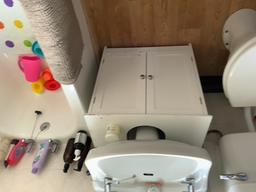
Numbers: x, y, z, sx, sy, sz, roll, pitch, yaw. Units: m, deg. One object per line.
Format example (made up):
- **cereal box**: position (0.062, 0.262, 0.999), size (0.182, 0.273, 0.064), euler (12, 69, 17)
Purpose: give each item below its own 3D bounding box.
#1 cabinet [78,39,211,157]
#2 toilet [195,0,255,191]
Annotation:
- **cabinet**: position (0.100, 0.000, 1.340), size (0.620, 0.620, 0.400), euler (-1, 137, 6)
- **toilet**: position (0.690, 0.000, 1.070), size (0.450, 0.890, 0.700), euler (-1, 137, 6)
